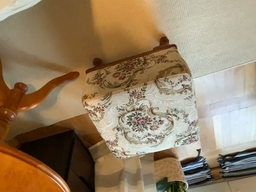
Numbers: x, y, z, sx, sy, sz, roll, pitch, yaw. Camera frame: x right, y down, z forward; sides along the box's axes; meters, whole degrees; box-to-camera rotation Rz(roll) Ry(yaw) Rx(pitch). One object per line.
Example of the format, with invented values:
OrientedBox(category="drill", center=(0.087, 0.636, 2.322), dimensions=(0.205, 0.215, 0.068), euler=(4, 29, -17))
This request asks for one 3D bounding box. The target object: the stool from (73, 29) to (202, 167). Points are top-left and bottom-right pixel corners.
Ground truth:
OrientedBox(category="stool", center=(0.060, 0.020, 0.970), dimensions=(0.420, 0.350, 0.420), euler=(-14, 130, 8))
